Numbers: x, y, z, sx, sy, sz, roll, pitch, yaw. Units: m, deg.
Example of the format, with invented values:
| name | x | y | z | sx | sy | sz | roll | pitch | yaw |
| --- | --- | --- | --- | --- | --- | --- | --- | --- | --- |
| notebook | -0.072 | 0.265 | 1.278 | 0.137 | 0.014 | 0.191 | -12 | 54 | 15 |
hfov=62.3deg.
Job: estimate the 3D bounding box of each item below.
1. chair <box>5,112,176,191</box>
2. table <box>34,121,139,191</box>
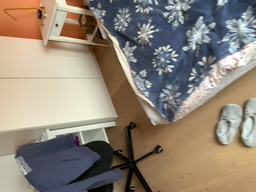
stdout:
| name | x | y | z | sx | sy | sz | roll | pitch | yaw |
| --- | --- | --- | --- | --- | --- | --- | --- | --- | --- |
| chair | -0.330 | 0.650 | 1.700 | 0.700 | 1.050 | 0.700 | 42 | 125 | 44 |
| table | -0.420 | 0.790 | 2.100 | 0.520 | 0.740 | 0.870 | -46 | 56 | 45 |
